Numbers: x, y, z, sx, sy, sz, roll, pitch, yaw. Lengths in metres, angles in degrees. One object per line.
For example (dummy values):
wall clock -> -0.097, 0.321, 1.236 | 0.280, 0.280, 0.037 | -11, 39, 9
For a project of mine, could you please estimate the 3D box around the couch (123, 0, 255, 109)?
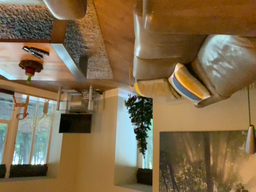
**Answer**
couch -> 0.590, -0.430, 2.070 | 1.160, 0.790, 1.780 | 1, 166, 2

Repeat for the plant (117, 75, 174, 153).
plant -> 0.380, 0.430, 4.360 | 0.650, 1.390, 0.980 | -11, 161, 42

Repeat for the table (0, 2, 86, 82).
table -> -1.160, -0.560, 2.600 | 1.030, 0.390, 1.260 | 2, 166, 0

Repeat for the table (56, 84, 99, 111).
table -> -1.120, 0.050, 4.770 | 0.800, 0.520, 0.430 | -1, 166, 12
